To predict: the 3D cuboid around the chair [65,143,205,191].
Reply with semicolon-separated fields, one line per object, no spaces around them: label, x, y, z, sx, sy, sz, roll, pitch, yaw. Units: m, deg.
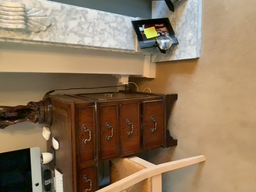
chair;0.060;0.590;1.300;0.420;0.740;0.400;-2;91;56
